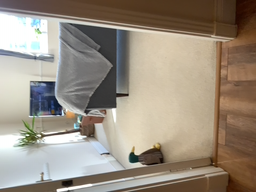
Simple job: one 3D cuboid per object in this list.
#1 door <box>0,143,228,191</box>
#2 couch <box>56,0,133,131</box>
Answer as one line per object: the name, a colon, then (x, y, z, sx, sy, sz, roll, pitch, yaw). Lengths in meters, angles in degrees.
door: (-0.530, 0.530, 1.310, 0.960, 2.040, 0.180, 142, 124, -61)
couch: (-0.490, -0.830, 2.750, 0.930, 0.770, 2.330, -166, 76, -66)
